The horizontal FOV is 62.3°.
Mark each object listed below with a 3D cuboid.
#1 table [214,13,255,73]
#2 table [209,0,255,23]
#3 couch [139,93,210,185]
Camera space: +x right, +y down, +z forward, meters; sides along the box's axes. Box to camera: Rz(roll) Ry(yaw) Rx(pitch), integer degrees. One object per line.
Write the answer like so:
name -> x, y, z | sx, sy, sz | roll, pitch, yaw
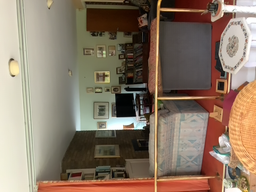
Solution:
table -> 1.210, -0.480, 2.080 | 0.520, 0.470, 0.480 | -151, 60, -83
table -> 1.140, -0.850, 2.110 | 0.180, 0.600, 0.190 | -151, 60, -83
couch -> 0.640, 0.590, 3.330 | 0.990, 0.740, 1.060 | -112, 22, -73
